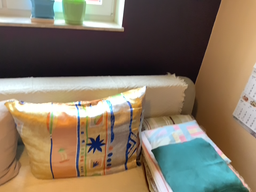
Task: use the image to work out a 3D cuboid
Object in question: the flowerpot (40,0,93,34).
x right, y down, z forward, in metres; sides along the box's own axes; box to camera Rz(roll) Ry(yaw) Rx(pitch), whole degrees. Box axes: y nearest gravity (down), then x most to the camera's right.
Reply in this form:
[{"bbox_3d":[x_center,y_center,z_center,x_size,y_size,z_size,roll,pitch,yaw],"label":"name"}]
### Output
[{"bbox_3d":[-0.400,-0.700,1.350,0.300,0.490,0.350,-2,32,-19],"label":"flowerpot"}]
